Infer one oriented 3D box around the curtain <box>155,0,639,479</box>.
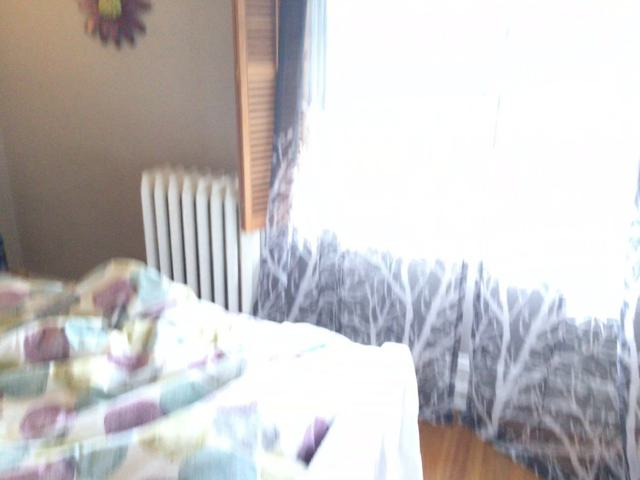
[{"bbox_3d":[0.530,-0.180,1.840,1.860,2.070,0.740,7,20,18],"label":"curtain"}]
